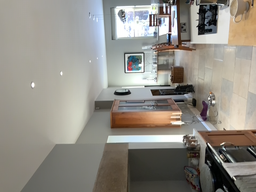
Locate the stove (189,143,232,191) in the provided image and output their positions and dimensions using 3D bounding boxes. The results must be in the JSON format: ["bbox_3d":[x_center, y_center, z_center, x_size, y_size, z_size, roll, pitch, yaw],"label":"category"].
[{"bbox_3d":[0.840,1.050,2.220,1.010,0.080,0.700,-88,-3,-76],"label":"stove"}]

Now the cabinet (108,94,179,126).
[{"bbox_3d":[0.350,0.310,5.420,1.220,1.610,0.430,-88,-2,-75],"label":"cabinet"}]
